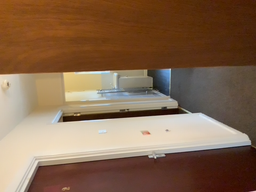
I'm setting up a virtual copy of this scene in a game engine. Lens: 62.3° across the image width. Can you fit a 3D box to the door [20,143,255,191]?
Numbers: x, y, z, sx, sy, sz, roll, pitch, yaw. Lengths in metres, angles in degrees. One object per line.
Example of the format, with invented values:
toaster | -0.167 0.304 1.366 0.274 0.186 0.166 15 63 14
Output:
door | 0.280 0.570 1.540 0.660 1.950 0.050 -143 51 -77
